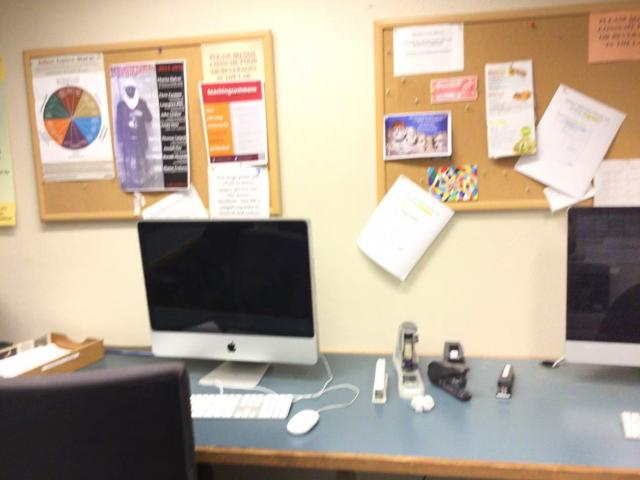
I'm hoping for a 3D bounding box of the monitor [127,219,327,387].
[{"bbox_3d":[-0.280,0.180,1.820,0.570,0.480,0.220,0,3,10],"label":"monitor"}]
